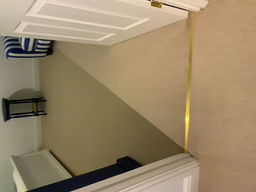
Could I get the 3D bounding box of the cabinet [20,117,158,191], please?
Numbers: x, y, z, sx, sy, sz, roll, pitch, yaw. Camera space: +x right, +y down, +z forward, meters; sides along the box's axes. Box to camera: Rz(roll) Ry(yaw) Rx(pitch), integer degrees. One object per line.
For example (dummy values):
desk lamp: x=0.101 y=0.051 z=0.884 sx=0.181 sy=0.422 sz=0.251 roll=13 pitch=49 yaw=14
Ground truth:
cabinet: x=-0.330 y=0.790 z=1.730 sx=0.560 sy=0.880 sz=1.000 roll=21 pitch=110 yaw=48
